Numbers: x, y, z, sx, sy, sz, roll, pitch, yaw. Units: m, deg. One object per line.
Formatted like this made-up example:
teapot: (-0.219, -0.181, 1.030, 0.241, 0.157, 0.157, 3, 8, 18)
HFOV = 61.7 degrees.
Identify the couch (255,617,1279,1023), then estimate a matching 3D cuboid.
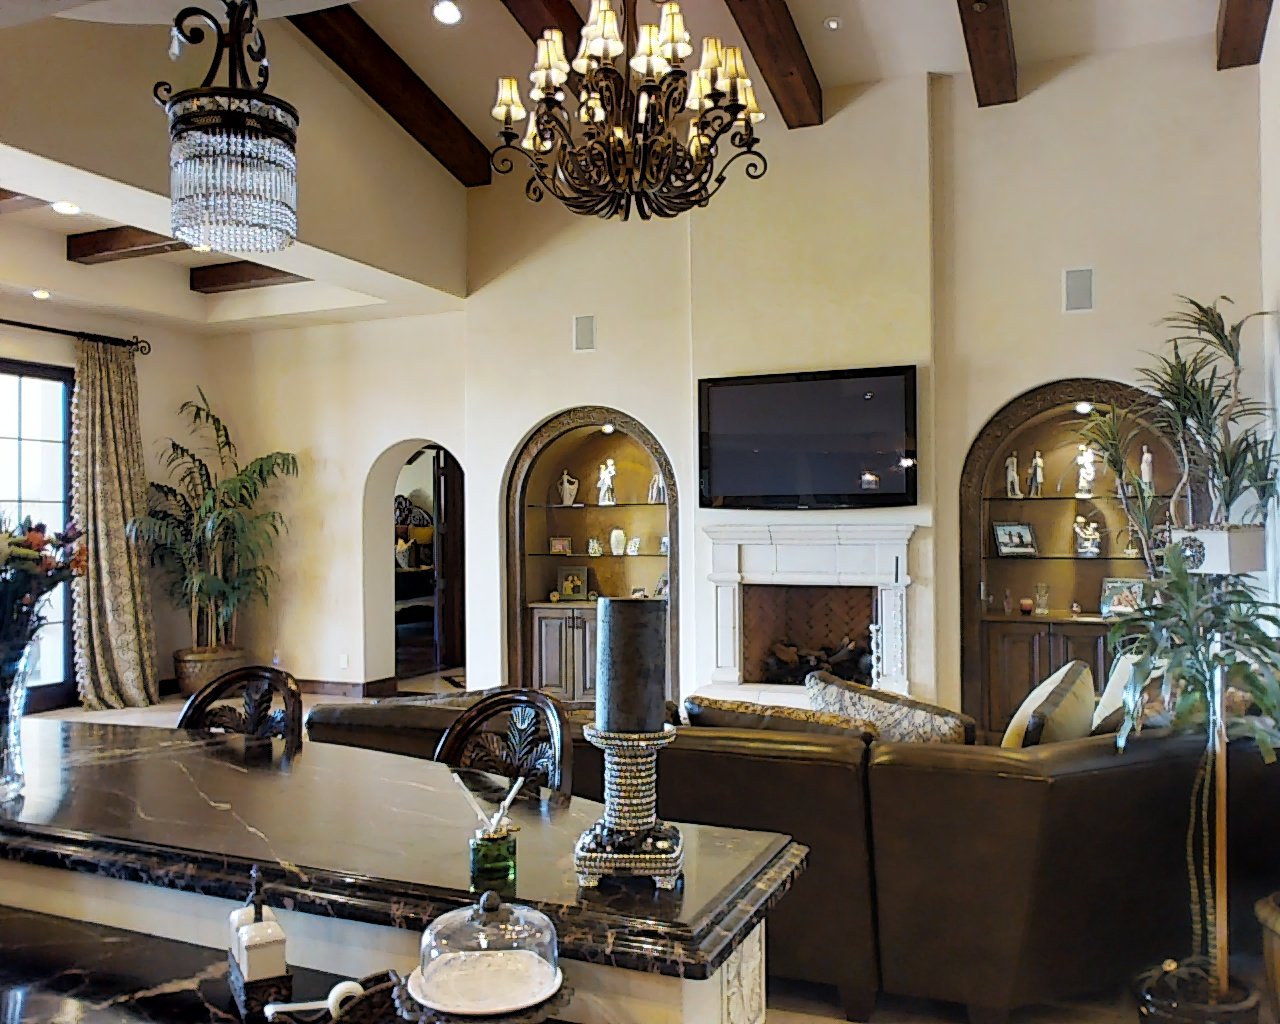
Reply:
couch: (0.950, 1.120, 4.600, 3.690, 0.950, 3.230, -1, -1, 24)

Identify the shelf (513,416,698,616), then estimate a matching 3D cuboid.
shelf: (-0.280, 0.040, 8.910, 1.350, 1.550, 0.720, -1, -1, 22)

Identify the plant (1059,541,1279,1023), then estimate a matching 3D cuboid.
plant: (1.650, 0.830, 3.100, 0.620, 1.480, 0.510, 0, -1, -21)

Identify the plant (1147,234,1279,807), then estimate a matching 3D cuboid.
plant: (3.410, 0.050, 6.360, 0.670, 3.100, 0.990, -1, -1, 24)

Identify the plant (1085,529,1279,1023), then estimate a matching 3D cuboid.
plant: (1.780, 0.810, 3.030, 0.930, 1.520, 0.710, -1, -1, 24)

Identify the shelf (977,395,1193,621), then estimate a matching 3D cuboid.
shelf: (3.090, -0.020, 7.480, 1.330, 1.460, 0.630, -1, -1, 24)
